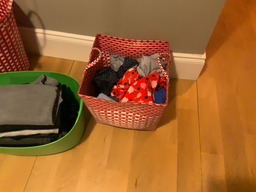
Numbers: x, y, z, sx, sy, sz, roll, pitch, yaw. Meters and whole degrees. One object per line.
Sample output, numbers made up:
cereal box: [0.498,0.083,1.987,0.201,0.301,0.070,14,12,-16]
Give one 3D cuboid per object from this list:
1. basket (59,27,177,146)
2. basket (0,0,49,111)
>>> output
basket: [-0.020,-0.050,1.070,0.440,0.310,0.440,10,57,4]
basket: [-0.770,-0.250,1.100,0.490,0.430,0.500,1,57,-1]
